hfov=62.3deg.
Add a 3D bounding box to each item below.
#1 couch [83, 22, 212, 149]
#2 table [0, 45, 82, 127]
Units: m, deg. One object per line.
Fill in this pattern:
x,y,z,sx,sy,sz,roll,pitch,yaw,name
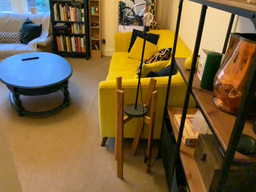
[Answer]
0.140,-0.330,2.710,1.010,0.790,1.970,3,29,-1,couch
-1.220,-0.230,2.730,0.830,0.450,1.230,-14,33,-27,table
